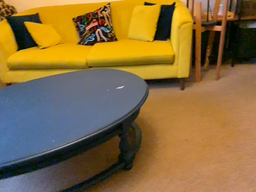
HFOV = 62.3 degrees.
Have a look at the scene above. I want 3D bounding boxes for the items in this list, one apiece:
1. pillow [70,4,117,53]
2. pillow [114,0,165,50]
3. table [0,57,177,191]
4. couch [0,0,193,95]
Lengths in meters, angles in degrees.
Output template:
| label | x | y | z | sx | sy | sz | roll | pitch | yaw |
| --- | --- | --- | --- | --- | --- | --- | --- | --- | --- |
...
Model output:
| label | x | y | z | sx | sy | sz | roll | pitch | yaw |
| --- | --- | --- | --- | --- | --- | --- | --- | --- | --- |
| pillow | -0.370 | -0.730 | 2.320 | 0.340 | 0.360 | 0.120 | 41 | 22 | -20 |
| pillow | 0.110 | -0.750 | 2.210 | 0.410 | 0.370 | 0.150 | 38 | 30 | 23 |
| table | -0.460 | 0.210 | 1.290 | 1.210 | 0.430 | 0.820 | -17 | 33 | -21 |
| couch | -0.420 | -0.580 | 2.370 | 2.010 | 0.760 | 0.950 | 0 | 30 | 7 |
